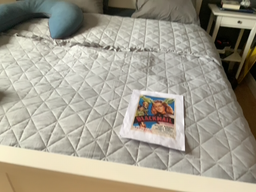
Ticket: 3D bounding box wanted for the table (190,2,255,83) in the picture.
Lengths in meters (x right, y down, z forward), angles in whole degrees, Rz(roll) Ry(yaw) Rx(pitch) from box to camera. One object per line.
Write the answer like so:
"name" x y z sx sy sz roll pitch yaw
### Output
"table" 0.990 -0.560 2.240 0.470 0.690 0.370 8 36 5
